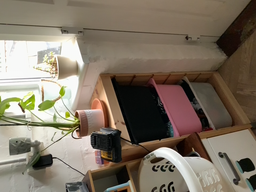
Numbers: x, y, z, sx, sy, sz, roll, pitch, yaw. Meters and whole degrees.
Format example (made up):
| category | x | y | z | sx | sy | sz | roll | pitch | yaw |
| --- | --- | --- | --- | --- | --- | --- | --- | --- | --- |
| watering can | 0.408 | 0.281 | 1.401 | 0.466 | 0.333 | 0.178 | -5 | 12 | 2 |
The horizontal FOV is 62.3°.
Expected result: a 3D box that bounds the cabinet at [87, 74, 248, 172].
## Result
| category | x | y | z | sx | sy | sz | roll | pitch | yaw |
| --- | --- | --- | --- | --- | --- | --- | --- | --- | --- |
| cabinet | 0.250 | 0.130 | 1.360 | 0.300 | 0.900 | 0.420 | -59 | 44 | 49 |
